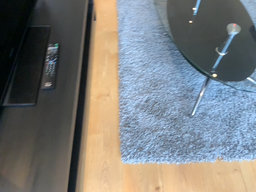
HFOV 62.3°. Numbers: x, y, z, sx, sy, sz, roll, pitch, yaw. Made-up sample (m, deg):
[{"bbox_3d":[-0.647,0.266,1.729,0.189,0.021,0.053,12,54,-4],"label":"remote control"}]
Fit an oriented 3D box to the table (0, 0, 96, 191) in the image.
[{"bbox_3d":[-0.520,-0.070,1.100,0.590,0.360,1.530,-2,60,-1],"label":"table"}]
